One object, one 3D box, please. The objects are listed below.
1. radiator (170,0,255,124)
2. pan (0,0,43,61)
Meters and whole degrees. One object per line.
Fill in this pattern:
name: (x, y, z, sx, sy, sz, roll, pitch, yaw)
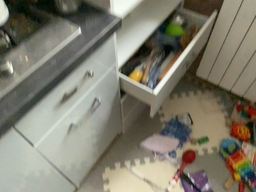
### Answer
radiator: (0.770, -0.210, 1.100, 0.970, 0.880, 0.220, 30, 62, 19)
pan: (-0.320, -0.200, 0.510, 0.140, 0.150, 0.110, 31, 62, 20)
